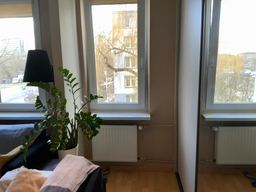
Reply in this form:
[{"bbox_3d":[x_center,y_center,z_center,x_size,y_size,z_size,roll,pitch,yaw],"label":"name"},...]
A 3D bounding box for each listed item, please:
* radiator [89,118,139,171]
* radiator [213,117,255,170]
[{"bbox_3d":[-0.180,0.650,2.850,0.640,0.700,0.130,0,10,4],"label":"radiator"},{"bbox_3d":[1.380,0.600,2.700,0.510,0.640,0.130,0,10,5],"label":"radiator"}]
